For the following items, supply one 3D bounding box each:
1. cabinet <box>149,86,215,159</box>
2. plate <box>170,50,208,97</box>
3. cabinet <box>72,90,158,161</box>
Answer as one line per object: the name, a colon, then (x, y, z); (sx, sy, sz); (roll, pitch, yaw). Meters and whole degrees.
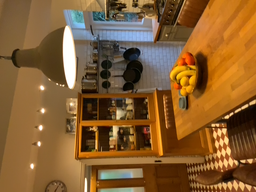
cabinet: (0.840, 0.440, 3.530); (0.480, 0.820, 1.100); (103, 166, -69)
plate: (0.410, -0.150, 1.480); (0.260, 0.150, 0.230); (103, 166, -68)
cabinet: (-0.220, 0.470, 3.510); (0.310, 1.290, 1.100); (103, 166, -69)
